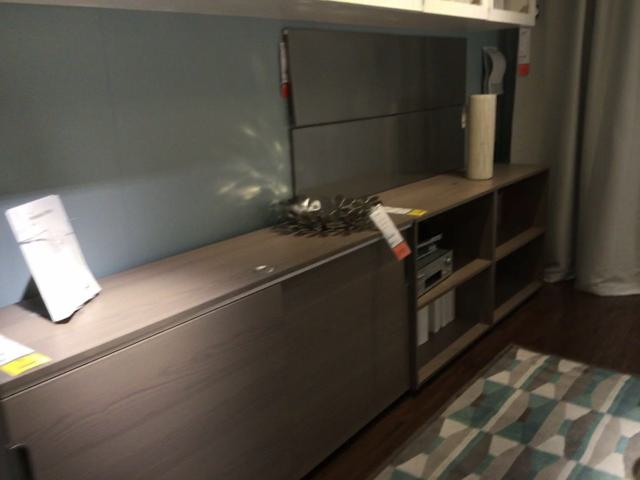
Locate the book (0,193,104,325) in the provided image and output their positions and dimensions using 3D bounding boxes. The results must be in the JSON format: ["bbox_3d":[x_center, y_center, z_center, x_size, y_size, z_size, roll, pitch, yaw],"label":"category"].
[{"bbox_3d":[-0.670,0.040,1.450,0.110,0.290,0.210,-17,4,-5],"label":"book"}]
